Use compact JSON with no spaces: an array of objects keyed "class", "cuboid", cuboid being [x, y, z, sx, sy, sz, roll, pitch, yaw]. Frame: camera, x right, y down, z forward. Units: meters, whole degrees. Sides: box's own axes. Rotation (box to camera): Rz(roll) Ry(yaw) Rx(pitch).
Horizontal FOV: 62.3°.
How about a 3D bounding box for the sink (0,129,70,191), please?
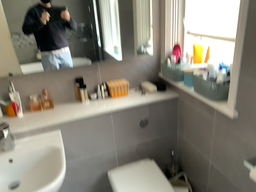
[{"class":"sink","cuboid":[-0.620,0.420,1.090,0.580,0.160,0.480,-11,24,-16]}]
